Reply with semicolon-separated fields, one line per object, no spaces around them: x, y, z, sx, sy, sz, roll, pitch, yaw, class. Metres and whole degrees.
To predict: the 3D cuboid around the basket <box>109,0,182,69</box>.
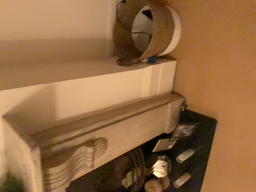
0.110;-0.460;1.470;0.330;0.330;0.450;21;115;40;basket

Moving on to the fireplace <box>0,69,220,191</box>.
-0.130;0.800;1.510;0.730;1.160;1.760;22;116;40;fireplace
